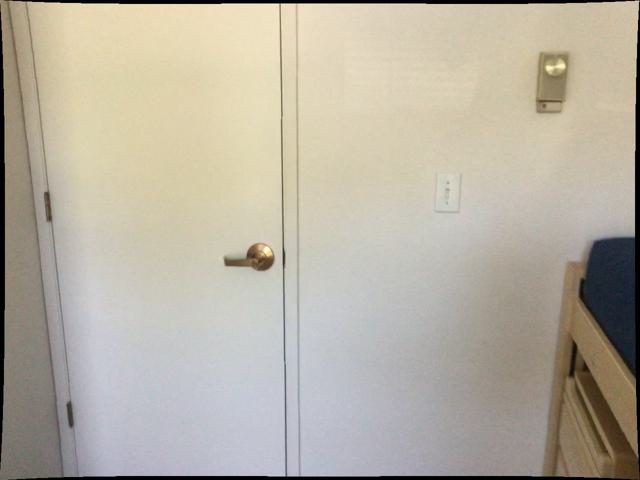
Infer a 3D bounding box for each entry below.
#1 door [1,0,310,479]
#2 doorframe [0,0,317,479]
[{"bbox_3d":[-0.489,-0.030,1.830,0.869,2.053,0.080,2,15,11],"label":"door"},{"bbox_3d":[-0.499,-0.050,1.820,0.958,2.023,0.080,3,16,12],"label":"doorframe"}]
